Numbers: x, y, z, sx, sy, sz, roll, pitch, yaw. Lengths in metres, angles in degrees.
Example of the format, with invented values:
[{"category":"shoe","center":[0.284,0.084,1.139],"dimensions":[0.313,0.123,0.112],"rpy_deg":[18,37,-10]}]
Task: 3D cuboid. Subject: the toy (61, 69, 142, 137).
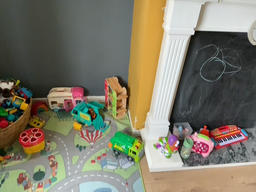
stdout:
[{"category":"toy","center":[-0.260,0.040,1.980],"dimensions":[0.640,0.390,0.490],"rpy_deg":[-3,36,-12]}]
